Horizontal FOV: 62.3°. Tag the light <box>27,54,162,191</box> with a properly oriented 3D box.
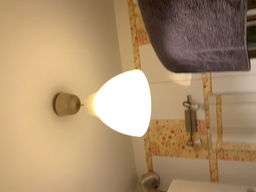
[{"bbox_3d":[-0.150,0.080,1.010,0.360,0.410,0.420,-35,33,-28],"label":"light"}]
